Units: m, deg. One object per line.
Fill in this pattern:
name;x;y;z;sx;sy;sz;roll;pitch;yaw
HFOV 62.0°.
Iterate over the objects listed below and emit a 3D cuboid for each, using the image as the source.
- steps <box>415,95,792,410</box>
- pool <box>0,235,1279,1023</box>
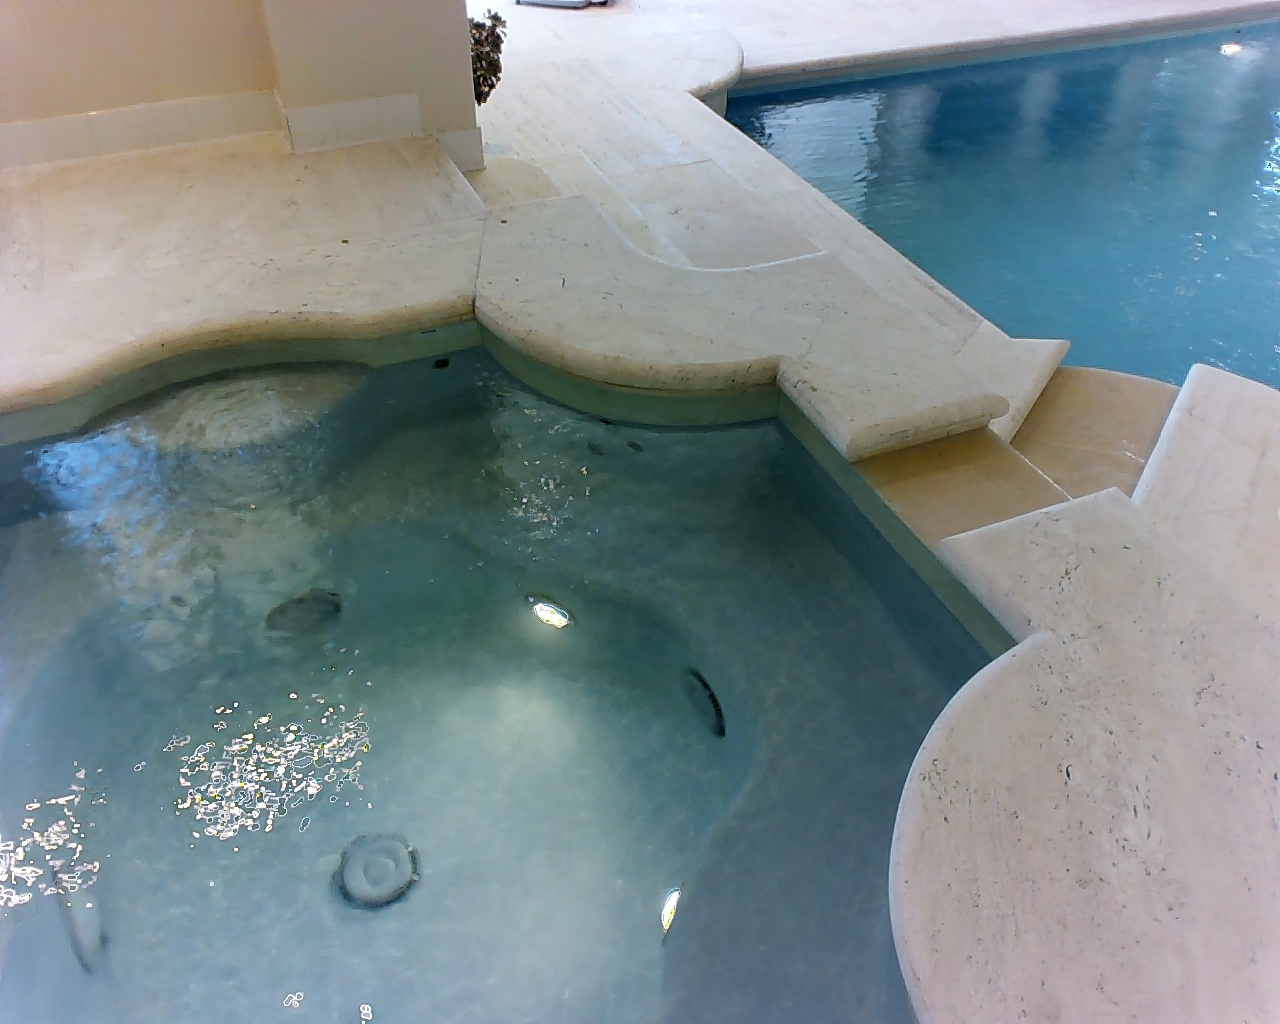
steps;-0.190;-0.940;3.550;0.700;0.340;1.450;-15;43;-20
pool;-0.630;0.350;2.030;2.650;0.320;2.480;-15;43;-19
